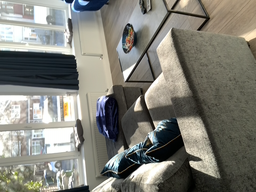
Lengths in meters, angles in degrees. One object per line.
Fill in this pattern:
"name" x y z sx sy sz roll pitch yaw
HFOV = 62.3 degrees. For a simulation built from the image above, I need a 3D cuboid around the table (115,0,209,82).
"table" 0.260 -0.640 2.210 0.990 0.420 0.530 126 138 -54
